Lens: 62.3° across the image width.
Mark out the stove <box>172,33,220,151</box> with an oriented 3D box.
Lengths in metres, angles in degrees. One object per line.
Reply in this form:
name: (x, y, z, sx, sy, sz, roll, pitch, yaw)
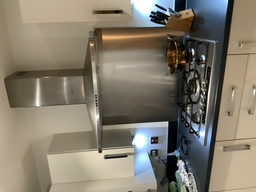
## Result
stove: (0.490, -0.070, 1.670, 0.600, 0.050, 0.770, -107, 15, -67)
